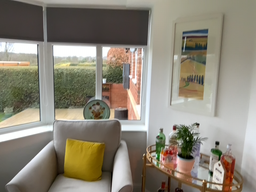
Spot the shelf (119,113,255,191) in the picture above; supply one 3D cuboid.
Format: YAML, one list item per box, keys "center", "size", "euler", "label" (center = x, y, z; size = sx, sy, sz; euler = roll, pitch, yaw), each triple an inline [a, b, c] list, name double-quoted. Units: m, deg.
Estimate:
- center: [0.450, 0.750, 1.860]
  size: [0.500, 0.950, 1.000]
  euler: [-7, 13, -43]
  label: "shelf"

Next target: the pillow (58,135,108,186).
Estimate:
- center: [-0.430, 0.620, 2.040]
  size: [0.360, 0.320, 0.210]
  euler: [22, 28, -3]
  label: "pillow"

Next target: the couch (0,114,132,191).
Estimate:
- center: [-0.430, 0.760, 1.940]
  size: [0.890, 0.910, 1.040]
  euler: [3, 9, 0]
  label: "couch"
